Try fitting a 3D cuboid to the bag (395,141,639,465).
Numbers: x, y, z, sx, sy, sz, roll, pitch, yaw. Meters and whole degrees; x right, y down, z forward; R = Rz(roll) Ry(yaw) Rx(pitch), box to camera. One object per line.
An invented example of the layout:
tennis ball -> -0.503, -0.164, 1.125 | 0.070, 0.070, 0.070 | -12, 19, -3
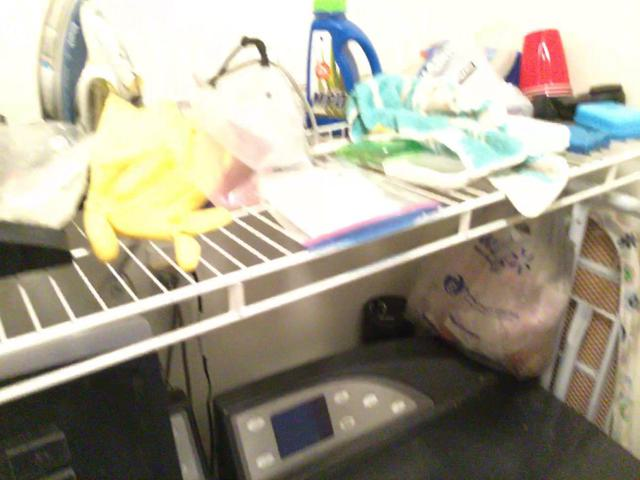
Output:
bag -> 0.390, 0.100, 1.180 | 0.270, 0.490, 0.370 | -16, 30, -30
